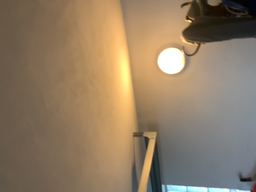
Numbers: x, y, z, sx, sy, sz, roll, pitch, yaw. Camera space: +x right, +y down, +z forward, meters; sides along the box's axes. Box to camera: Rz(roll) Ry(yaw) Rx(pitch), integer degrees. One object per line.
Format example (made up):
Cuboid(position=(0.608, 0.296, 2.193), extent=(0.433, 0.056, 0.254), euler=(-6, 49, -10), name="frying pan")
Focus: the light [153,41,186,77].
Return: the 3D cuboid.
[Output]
Cuboid(position=(0.370, -0.320, 1.860), extent=(0.060, 0.260, 0.290), euler=(-56, -39, -65), name="light")
